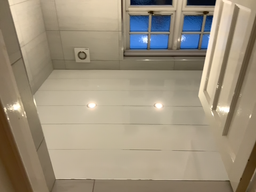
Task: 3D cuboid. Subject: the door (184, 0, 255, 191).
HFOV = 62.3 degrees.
[{"bbox_3d":[0.480,-0.660,0.690,0.110,2.130,1.010,2,-148,2],"label":"door"}]
